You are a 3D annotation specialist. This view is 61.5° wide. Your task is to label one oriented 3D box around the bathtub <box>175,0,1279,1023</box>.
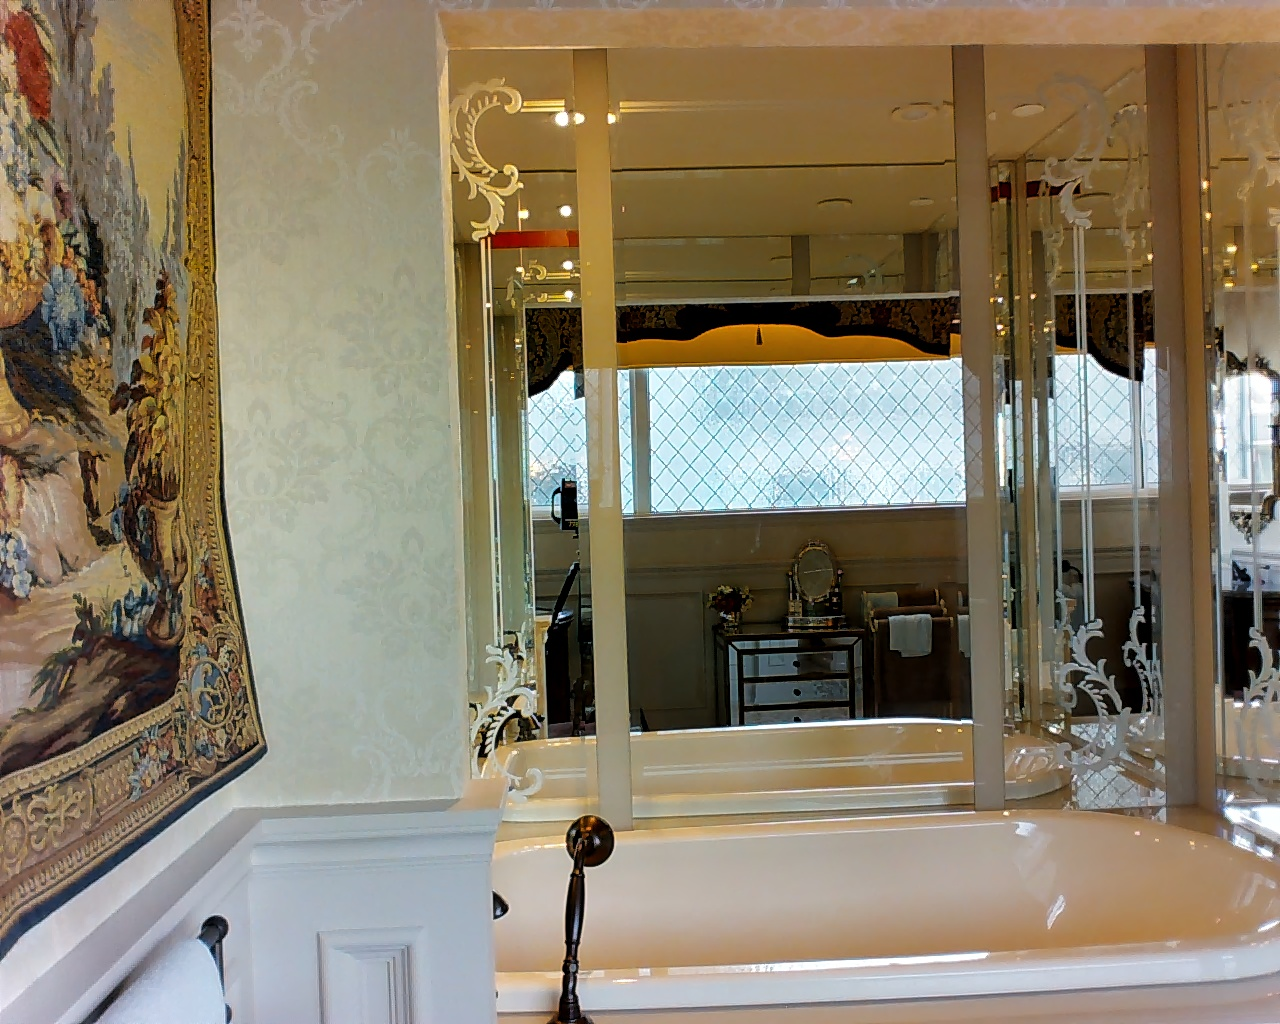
[{"bbox_3d":[0.380,0.170,1.950,1.860,2.391,1.280,-2,0,-2],"label":"bathtub"}]
